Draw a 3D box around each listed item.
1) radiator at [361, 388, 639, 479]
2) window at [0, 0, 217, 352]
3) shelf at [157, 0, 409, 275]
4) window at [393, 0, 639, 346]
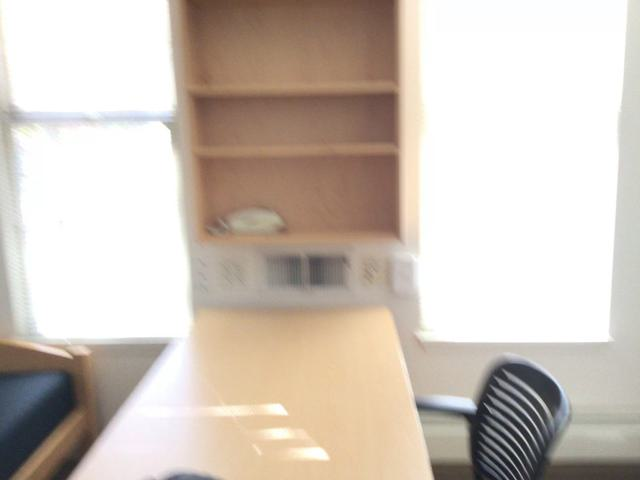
[{"bbox_3d":[0.870,0.800,2.290,1.410,0.350,0.180,0,9,4],"label":"radiator"},{"bbox_3d":[-0.920,-0.460,2.290,0.900,1.790,0.240,0,9,4],"label":"window"},{"bbox_3d":[-0.110,-0.500,2.120,0.830,1.200,0.360,0,9,4],"label":"shelf"},{"bbox_3d":[0.740,-0.480,2.240,0.880,1.750,0.290,0,9,4],"label":"window"}]
